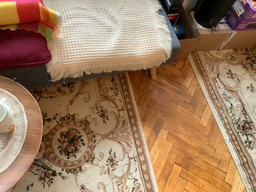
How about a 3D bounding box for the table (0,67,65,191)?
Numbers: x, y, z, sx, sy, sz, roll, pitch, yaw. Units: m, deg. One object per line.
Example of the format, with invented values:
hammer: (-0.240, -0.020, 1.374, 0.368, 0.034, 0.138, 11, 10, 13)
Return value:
table: (-0.580, 0.220, 0.920, 0.470, 0.410, 0.470, -12, 69, -15)
